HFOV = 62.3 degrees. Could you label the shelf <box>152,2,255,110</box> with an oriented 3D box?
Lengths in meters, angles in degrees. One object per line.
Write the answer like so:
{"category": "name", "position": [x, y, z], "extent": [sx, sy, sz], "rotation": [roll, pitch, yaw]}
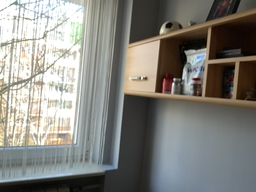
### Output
{"category": "shelf", "position": [0.480, -0.150, 0.980], "extent": [0.260, 0.390, 0.810], "rotation": [5, 2, -31]}

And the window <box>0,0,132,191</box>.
{"category": "window", "position": [-0.750, -0.310, 1.230], "extent": [1.620, 1.810, 0.200], "rotation": [5, 2, -32]}
